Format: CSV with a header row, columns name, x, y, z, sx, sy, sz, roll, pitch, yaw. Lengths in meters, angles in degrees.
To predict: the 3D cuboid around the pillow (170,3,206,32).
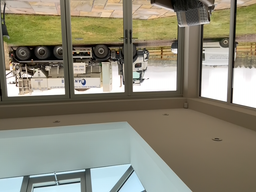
name,x,y,z,sx,sy,sz,roll,pitch,yaw
pillow,0.970,-1.300,3.490,0.480,0.330,0.130,29,-141,26
